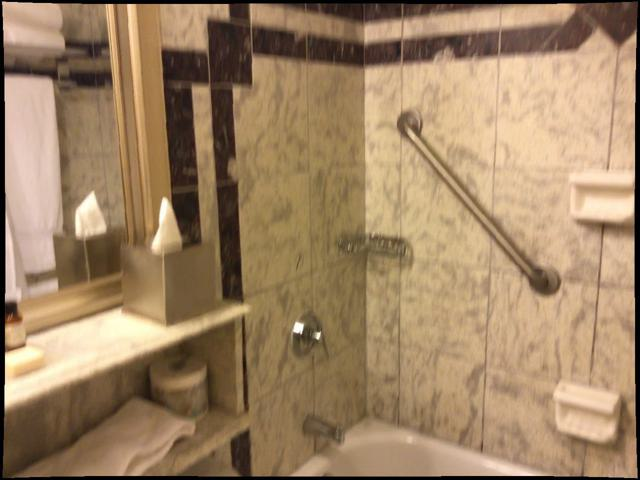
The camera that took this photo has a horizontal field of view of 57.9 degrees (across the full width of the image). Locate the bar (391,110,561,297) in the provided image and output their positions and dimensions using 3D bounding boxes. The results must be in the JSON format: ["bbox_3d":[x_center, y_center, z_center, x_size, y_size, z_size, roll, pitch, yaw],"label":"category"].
[{"bbox_3d":[0.450,-0.120,1.700,0.060,0.660,0.060,-22,-20,-52],"label":"bar"}]

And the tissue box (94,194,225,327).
[{"bbox_3d":[-0.310,0.030,1.130,0.170,0.210,0.150,7,17,35],"label":"tissue box"}]
